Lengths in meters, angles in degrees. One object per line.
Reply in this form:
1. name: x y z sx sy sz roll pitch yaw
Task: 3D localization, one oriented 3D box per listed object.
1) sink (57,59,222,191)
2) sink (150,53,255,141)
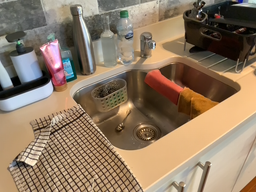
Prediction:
1. sink: 0.020 0.100 0.810 0.390 0.240 0.440 -24 41 -26
2. sink: 0.280 -0.020 0.890 0.190 0.160 0.360 -24 41 -26
